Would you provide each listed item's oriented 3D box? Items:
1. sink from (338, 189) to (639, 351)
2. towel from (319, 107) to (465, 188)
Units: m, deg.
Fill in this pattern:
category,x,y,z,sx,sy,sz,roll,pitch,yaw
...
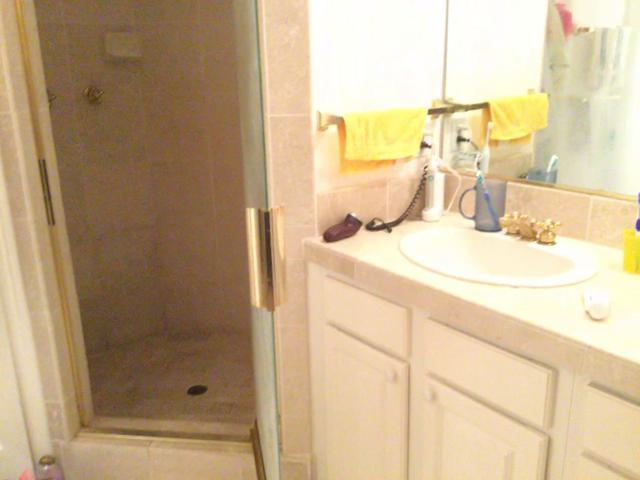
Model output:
category,x,y,z,sx,sy,sz,roll,pitch,yaw
sink,0.420,0.030,1.510,0.460,0.200,0.610,-11,19,-36
towel,0.220,-0.280,1.690,0.480,0.200,0.100,-11,19,-36
